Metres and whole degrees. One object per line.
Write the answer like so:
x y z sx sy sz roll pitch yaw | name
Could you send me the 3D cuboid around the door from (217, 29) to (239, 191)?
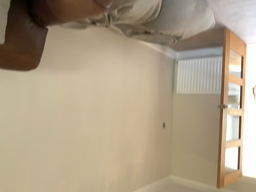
1.430 0.270 2.990 0.100 2.150 0.900 2 177 32 | door
